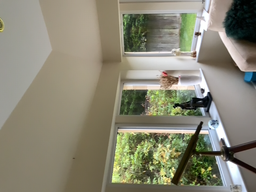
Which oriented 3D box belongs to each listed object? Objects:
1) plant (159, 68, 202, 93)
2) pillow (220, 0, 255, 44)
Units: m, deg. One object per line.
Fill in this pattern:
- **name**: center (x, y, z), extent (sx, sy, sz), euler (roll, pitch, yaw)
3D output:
- **plant**: center (0.800, -0.240, 3.310), extent (0.230, 0.590, 0.300), euler (-85, -5, -53)
- **pillow**: center (1.270, -0.880, 2.300), extent (0.140, 0.400, 0.540), euler (-123, 25, -51)
